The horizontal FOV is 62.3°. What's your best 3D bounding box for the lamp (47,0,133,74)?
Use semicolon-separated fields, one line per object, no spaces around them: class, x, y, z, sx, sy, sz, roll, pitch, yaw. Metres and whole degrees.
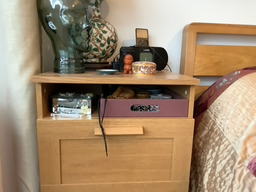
lamp;-0.140;-0.350;0.850;0.280;0.490;0.310;0;11;-7
